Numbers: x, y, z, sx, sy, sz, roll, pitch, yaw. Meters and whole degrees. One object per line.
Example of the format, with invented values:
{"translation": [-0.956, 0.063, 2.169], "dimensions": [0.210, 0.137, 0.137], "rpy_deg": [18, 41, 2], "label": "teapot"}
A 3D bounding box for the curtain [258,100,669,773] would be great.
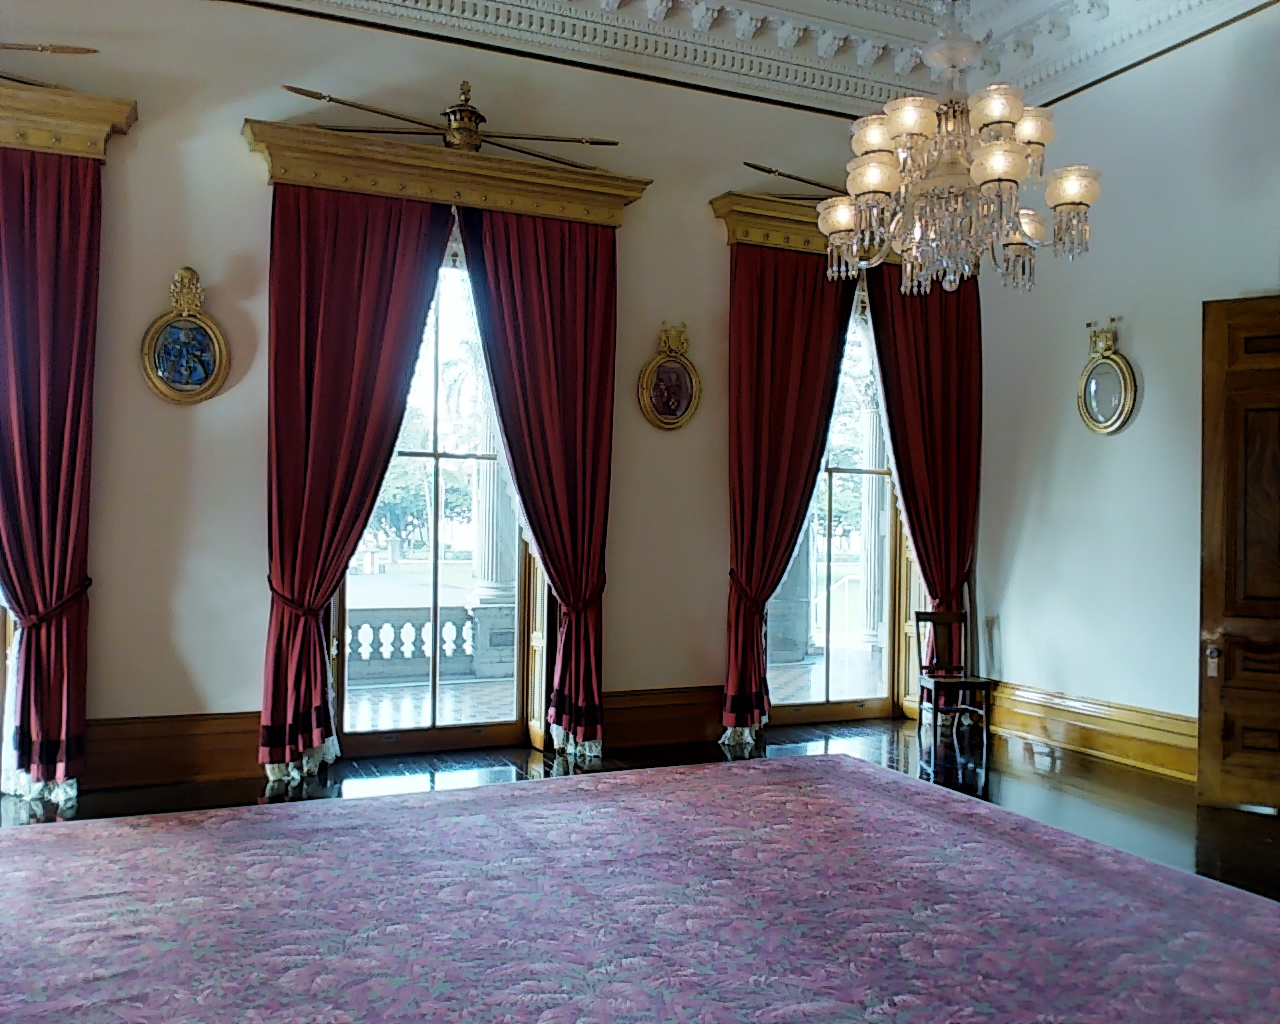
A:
{"translation": [-1.080, -0.420, 6.980], "dimensions": [2.540, 3.941, 0.380], "rpy_deg": [1, 0, -24], "label": "curtain"}

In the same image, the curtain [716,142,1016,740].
{"translation": [1.750, -0.470, 8.100], "dimensions": [2.400, 4.151, 0.330], "rpy_deg": [1, 0, -24], "label": "curtain"}

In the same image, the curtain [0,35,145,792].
{"translation": [-4.019, -0.540, 5.610], "dimensions": [2.530, 4.061, 0.190], "rpy_deg": [1, 0, -24], "label": "curtain"}
